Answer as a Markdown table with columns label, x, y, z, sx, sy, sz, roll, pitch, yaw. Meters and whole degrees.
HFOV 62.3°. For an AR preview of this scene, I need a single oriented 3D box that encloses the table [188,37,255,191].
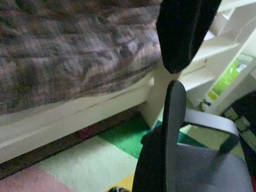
| label | x | y | z | sx | sy | sz | roll | pitch | yaw |
| --- | --- | --- | --- | --- | --- | --- | --- | --- | --- |
| table | 0.920 | 0.130 | 1.180 | 0.590 | 0.740 | 0.740 | -23 | 64 | -22 |

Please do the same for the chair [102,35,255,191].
| label | x | y | z | sx | sy | sz | roll | pitch | yaw |
| --- | --- | --- | --- | --- | --- | --- | --- | --- | --- |
| chair | 0.240 | 0.360 | 0.800 | 0.650 | 0.900 | 0.600 | 4 | 57 | -6 |
